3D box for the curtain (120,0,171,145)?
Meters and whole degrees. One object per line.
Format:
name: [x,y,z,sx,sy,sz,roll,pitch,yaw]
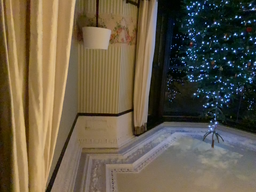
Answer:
curtain: [0.300,-0.700,4.060,0.530,3.190,0.650,-1,-167,-22]
